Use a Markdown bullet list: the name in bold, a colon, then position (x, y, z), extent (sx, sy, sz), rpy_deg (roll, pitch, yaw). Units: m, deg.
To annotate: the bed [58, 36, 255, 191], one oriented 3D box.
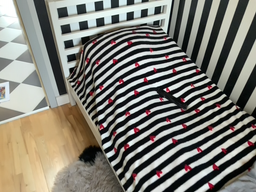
- **bed**: position (0.400, 0.380, 1.340), extent (1.020, 0.430, 2.110), rpy_deg (-20, 47, -22)
